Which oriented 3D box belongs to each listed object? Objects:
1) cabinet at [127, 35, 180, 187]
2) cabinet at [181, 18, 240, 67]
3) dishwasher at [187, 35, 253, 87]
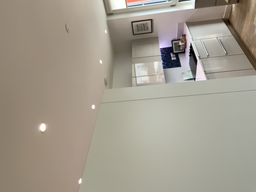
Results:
[{"bbox_3d":[0.350,-0.070,3.790,0.370,0.630,3.180,80,-172,-45],"label":"cabinet"},{"bbox_3d":[1.640,-1.110,4.400,0.620,0.910,0.740,80,-172,-45],"label":"cabinet"},{"bbox_3d":[1.630,-0.640,3.920,0.640,0.910,0.590,80,-172,-45],"label":"dishwasher"}]
